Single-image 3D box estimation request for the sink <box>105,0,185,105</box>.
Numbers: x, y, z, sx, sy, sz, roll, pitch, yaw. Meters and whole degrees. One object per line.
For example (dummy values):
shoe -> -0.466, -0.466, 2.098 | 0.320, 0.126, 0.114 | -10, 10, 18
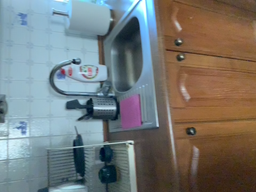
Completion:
sink -> 0.050, -0.190, 1.100 | 0.480, 0.160, 0.410 | -21, 70, 61
